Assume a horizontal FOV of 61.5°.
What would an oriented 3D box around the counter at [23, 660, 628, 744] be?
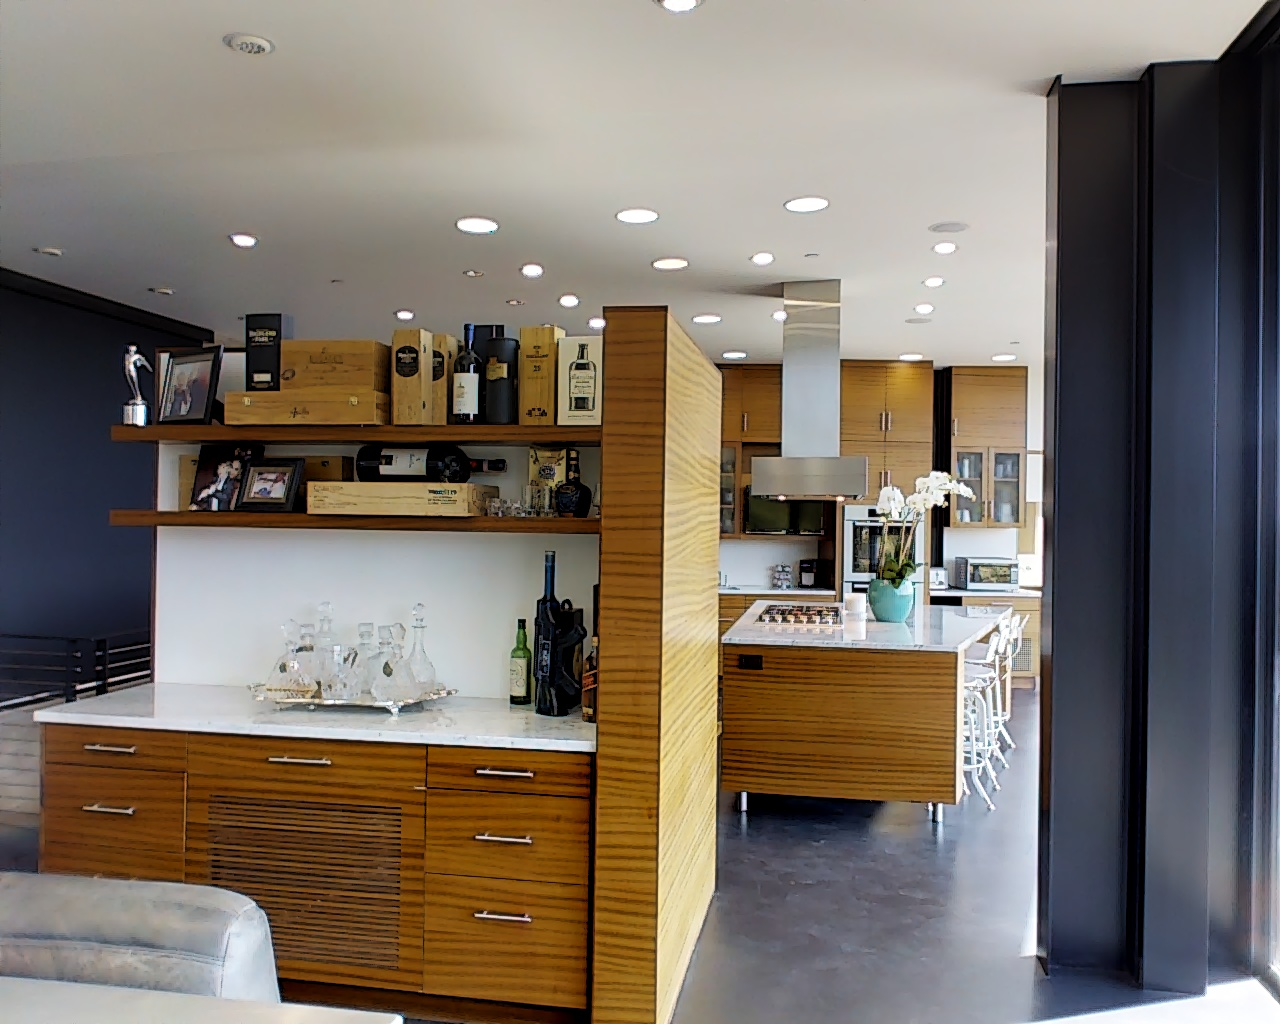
[{"bbox_3d":[-1.020,0.630,3.670,1.880,0.120,0.650,0,0,8],"label":"counter"}]
